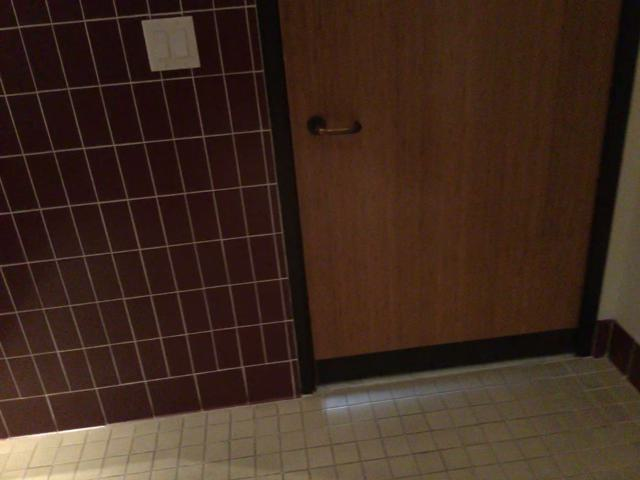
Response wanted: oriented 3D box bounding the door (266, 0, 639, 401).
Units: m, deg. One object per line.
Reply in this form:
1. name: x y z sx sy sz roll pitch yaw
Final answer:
1. door: 0.420 -0.250 1.620 1.040 1.490 0.100 -7 25 -6
